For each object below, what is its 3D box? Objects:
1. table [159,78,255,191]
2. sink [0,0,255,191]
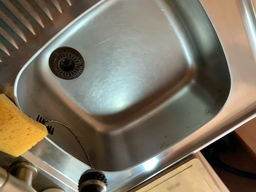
[{"bbox_3d":[0.560,0.340,1.270,0.270,0.930,0.470,-33,123,8],"label":"table"},{"bbox_3d":[-0.020,-0.010,0.520,0.450,0.270,0.390,-34,123,8],"label":"sink"}]
